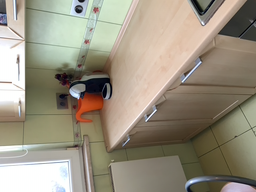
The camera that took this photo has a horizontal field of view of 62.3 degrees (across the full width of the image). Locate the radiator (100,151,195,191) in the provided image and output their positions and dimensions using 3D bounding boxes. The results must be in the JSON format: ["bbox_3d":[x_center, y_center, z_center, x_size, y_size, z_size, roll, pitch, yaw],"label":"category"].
[{"bbox_3d":[0.190,0.780,1.540,0.130,0.680,0.670,127,137,-51],"label":"radiator"}]
